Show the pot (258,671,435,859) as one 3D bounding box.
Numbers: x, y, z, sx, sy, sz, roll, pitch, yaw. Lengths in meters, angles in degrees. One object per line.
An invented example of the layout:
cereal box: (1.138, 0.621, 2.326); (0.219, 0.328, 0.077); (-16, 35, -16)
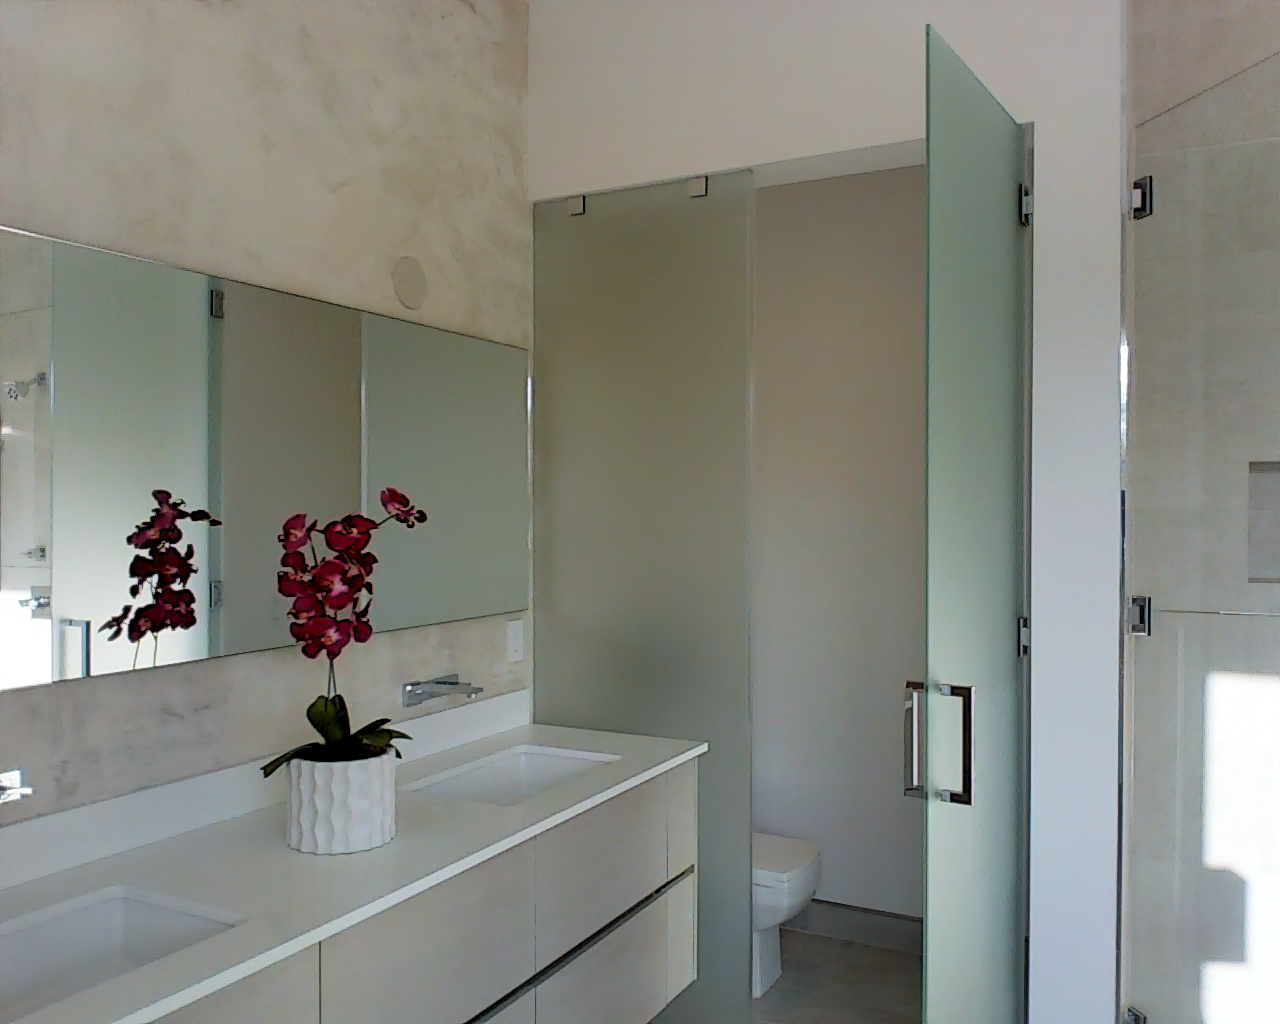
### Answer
pot: (-0.570, 0.480, 2.100); (0.240, 0.290, 0.230); (0, 1, 29)
